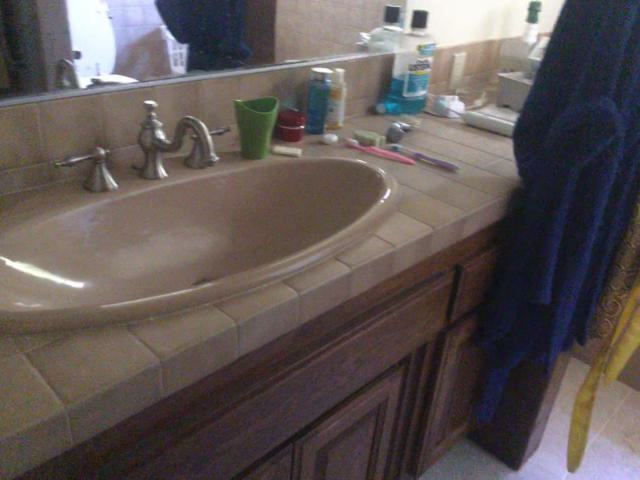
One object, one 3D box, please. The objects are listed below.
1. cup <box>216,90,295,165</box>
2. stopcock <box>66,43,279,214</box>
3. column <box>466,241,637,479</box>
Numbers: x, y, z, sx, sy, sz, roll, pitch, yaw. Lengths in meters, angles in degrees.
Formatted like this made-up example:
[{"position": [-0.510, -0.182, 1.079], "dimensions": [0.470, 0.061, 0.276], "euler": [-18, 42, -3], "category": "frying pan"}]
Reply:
[{"position": [-0.130, -0.230, 1.170], "dimensions": [0.110, 0.110, 0.110], "euler": [26, 35, 37], "category": "cup"}, {"position": [-0.270, -0.220, 1.040], "dimensions": [0.390, 0.190, 0.170], "euler": [26, 35, 37], "category": "stopcock"}, {"position": [0.590, 0.330, 1.520], "dimensions": [0.230, 0.570, 0.230], "euler": [26, 35, 37], "category": "column"}]
